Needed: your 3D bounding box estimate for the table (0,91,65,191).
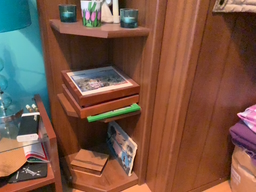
[{"bbox_3d":[-0.540,0.270,0.820,0.480,0.400,0.360,-11,30,-28],"label":"table"}]
